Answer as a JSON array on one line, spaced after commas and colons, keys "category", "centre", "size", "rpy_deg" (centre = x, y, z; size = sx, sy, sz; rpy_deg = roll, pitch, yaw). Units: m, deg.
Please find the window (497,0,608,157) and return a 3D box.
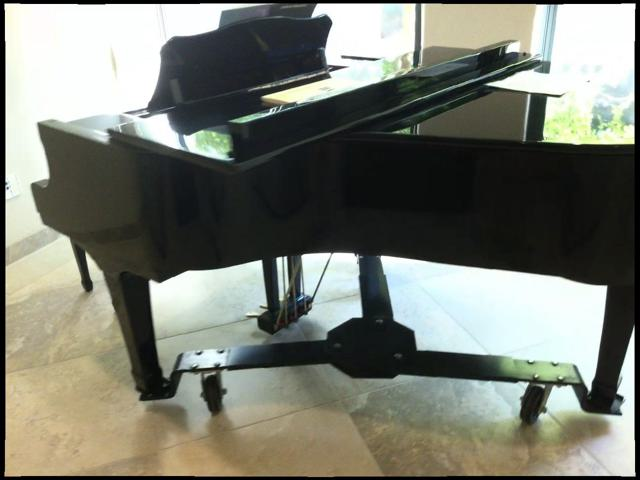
[{"category": "window", "centre": [1.108, -0.832, 2.760], "size": [0.399, 0.781, 0.280], "rpy_deg": [9, 29, 24]}]
